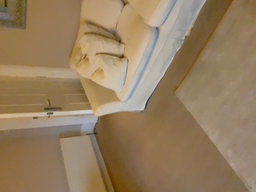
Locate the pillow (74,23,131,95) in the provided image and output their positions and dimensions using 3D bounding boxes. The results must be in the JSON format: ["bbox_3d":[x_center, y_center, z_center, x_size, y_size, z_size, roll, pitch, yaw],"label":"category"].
[{"bbox_3d":[-0.290,-0.380,2.150,0.640,0.300,0.400,61,140,39],"label":"pillow"}]
